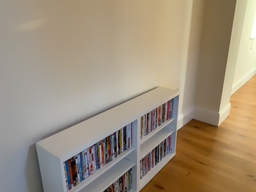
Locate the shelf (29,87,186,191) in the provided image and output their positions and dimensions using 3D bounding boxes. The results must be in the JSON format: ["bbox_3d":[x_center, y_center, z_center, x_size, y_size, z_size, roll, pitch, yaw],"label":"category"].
[{"bbox_3d":[0.000,0.410,1.590,0.270,0.620,1.300,17,26,35],"label":"shelf"}]
